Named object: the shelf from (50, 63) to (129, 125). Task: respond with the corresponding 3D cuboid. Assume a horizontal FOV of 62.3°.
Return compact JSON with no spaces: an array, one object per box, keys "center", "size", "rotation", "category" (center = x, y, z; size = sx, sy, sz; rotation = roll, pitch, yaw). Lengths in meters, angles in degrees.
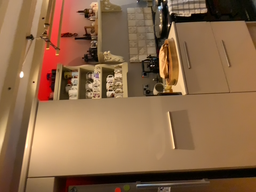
[{"center":[-0.420,-0.030,2.450],"size":[0.210,0.830,0.650],"rotation":[91,176,-65],"category":"shelf"}]
